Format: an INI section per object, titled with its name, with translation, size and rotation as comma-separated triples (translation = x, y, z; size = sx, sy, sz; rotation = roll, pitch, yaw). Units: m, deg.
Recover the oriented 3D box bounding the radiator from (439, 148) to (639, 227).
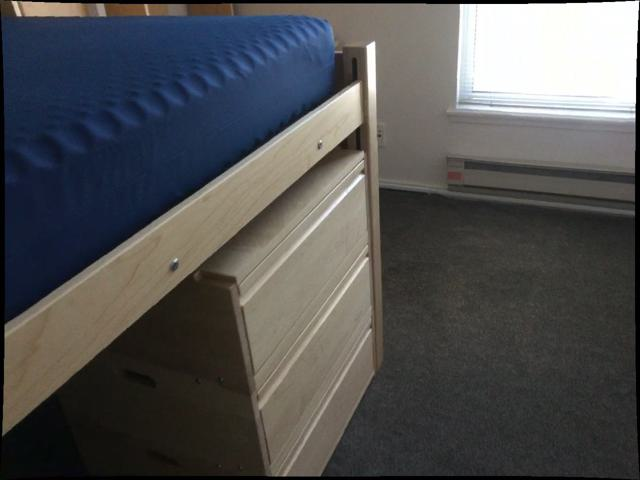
[radiator]
translation = 1.018, -0.240, 2.590
size = 0.949, 0.240, 0.080
rotation = 9, 33, 22
